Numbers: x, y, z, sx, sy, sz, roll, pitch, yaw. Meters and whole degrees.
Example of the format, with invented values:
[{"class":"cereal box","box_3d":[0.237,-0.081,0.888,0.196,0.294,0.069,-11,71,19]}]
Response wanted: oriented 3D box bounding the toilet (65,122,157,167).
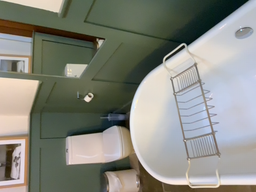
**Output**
[{"class":"toilet","box_3d":[-0.230,0.560,2.450,0.680,0.830,0.380,-33,59,56]}]
